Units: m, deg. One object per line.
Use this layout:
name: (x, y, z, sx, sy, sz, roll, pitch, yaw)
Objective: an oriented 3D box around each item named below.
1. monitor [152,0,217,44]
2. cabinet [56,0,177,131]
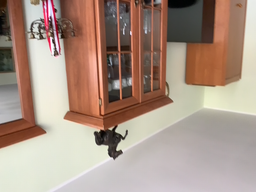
monitor: (0.620, -0.890, 2.130, 0.100, 0.680, 1.100, 11, -164, 42)
cabinet: (-0.040, -0.850, 1.440, 0.420, 1.970, 0.780, 10, -164, 40)
